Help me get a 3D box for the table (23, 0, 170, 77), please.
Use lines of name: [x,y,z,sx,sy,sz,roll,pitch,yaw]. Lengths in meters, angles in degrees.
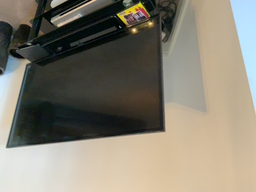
table: [-0.210,-0.510,1.410,0.850,0.450,0.400,-13,154,29]
